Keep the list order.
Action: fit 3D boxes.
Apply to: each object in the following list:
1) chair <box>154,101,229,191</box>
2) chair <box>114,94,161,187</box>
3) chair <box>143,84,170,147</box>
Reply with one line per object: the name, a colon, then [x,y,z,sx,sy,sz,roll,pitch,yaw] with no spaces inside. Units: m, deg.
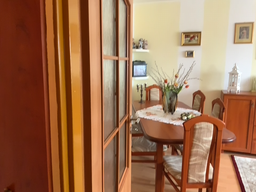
chair: [0.550,0.610,2.060,0.480,1.020,0.580,0,10,-2]
chair: [0.090,0.510,2.630,0.480,1.010,0.480,-1,10,-8]
chair: [0.490,0.320,3.810,0.360,1.010,0.540,0,10,-4]
